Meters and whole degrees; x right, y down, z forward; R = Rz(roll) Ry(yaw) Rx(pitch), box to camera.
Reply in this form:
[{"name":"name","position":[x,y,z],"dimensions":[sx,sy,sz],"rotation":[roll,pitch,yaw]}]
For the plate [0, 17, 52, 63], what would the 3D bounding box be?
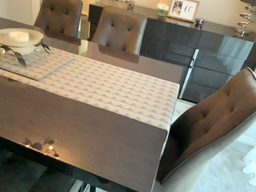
[{"name":"plate","position":[-0.570,-0.300,1.100],"dimensions":[0.230,0.120,0.240],"rotation":[21,34,14]}]
